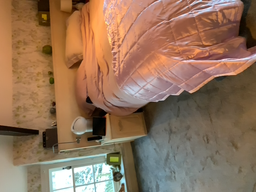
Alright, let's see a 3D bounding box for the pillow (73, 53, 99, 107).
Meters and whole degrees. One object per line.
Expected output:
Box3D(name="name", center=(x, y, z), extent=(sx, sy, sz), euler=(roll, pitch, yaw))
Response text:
Box3D(name="pillow", center=(-0.600, -0.200, 2.930), extent=(0.520, 0.210, 0.590), euler=(141, 123, -62))
